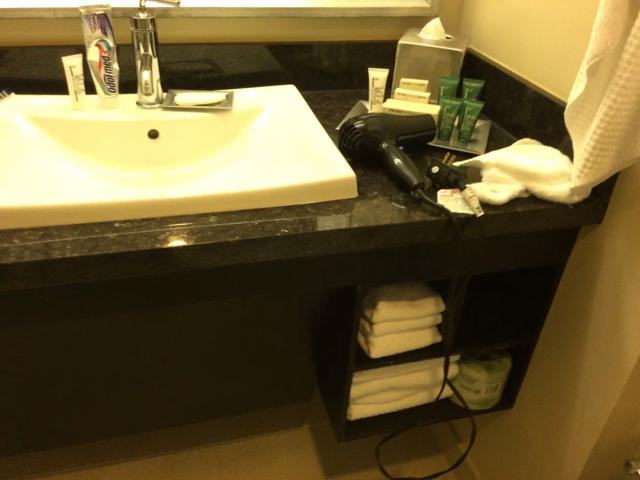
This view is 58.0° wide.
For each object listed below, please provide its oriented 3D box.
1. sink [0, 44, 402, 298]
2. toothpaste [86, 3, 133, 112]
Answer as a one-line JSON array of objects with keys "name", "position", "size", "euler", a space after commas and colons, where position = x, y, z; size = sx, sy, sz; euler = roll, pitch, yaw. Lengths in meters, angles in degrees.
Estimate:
[{"name": "sink", "position": [-0.270, -0.160, 0.990], "size": [0.650, 0.220, 0.480], "euler": [-5, 33, -16]}, {"name": "toothpaste", "position": [-0.380, -0.330, 1.050], "size": [0.060, 0.170, 0.090], "euler": [-5, 33, -16]}]
